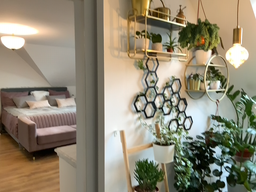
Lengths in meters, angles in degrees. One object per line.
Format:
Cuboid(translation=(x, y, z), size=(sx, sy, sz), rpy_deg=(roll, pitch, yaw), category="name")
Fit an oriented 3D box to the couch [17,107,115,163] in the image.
Cuboid(translation=(-1.340, 0.780, 4.870), size=(1.960, 0.760, 0.880), rpy_deg=(-4, 7, -41), category="couch")
